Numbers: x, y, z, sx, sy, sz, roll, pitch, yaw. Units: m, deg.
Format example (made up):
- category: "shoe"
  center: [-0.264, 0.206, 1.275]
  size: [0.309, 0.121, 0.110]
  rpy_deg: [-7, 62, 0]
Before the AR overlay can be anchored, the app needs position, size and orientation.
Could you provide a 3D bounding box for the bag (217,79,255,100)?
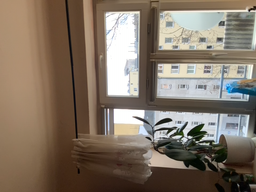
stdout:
- category: "bag"
  center: [1.020, -0.060, 1.790]
  size: [0.360, 0.400, 0.130]
  rpy_deg: [-54, -34, -79]
